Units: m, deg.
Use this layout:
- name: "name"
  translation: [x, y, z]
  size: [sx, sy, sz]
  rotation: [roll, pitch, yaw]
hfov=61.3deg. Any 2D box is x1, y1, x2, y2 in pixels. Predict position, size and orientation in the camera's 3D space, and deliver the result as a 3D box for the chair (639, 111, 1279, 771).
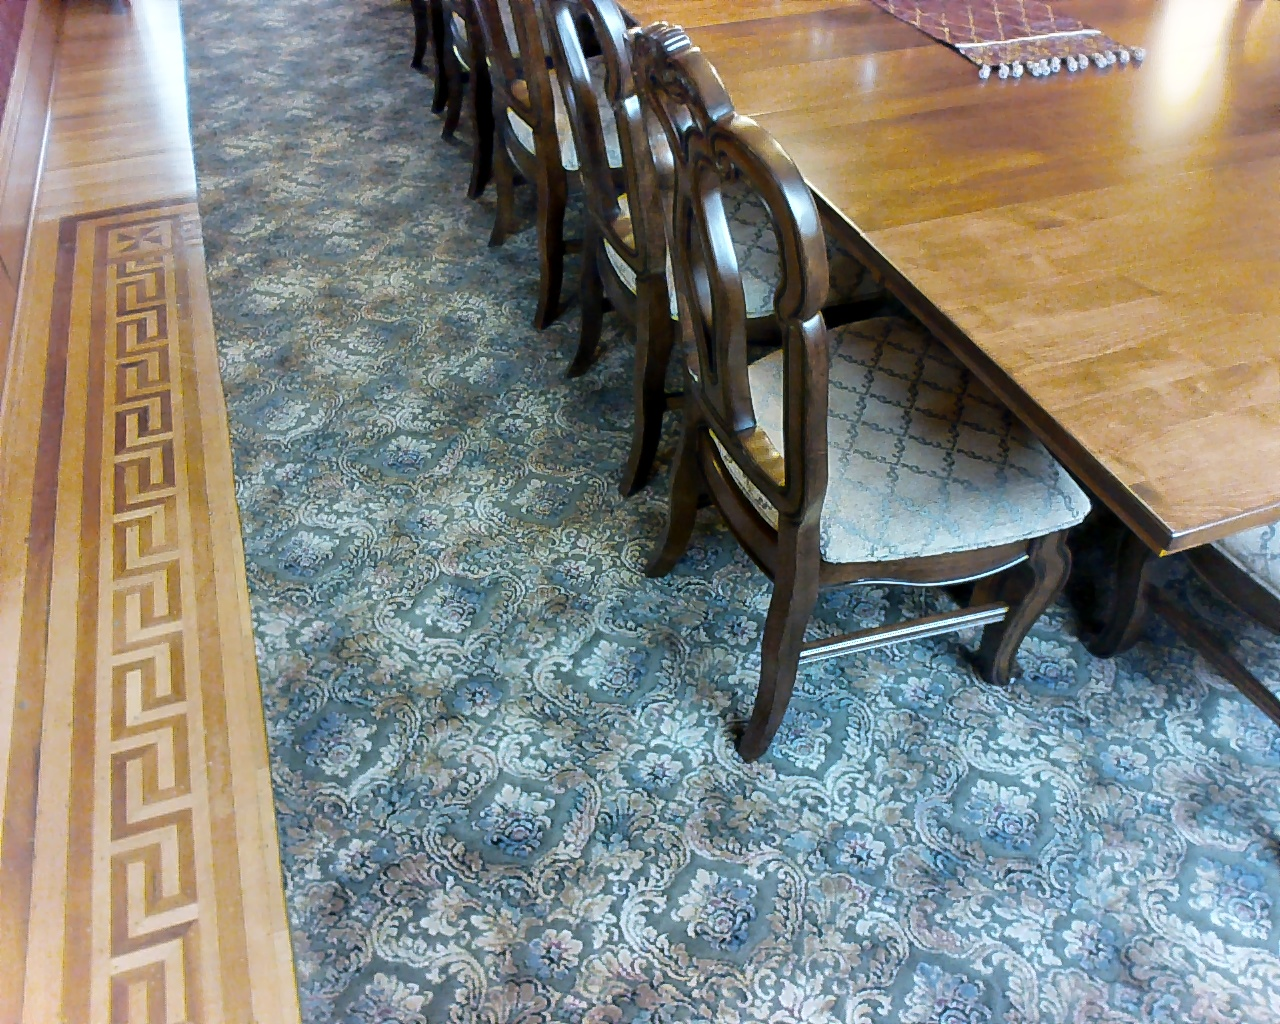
- name: "chair"
  translation: [0.450, -0.140, 1.840]
  size: [0.710, 0.750, 0.640]
  rotation: [-15, 45, -16]
